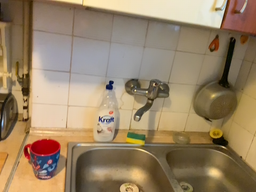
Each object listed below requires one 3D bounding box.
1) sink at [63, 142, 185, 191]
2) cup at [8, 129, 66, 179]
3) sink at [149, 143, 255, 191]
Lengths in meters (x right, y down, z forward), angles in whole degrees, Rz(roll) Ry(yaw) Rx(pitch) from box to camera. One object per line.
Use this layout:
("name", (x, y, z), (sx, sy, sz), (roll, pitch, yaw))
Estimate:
("sink", (-0.030, 0.360, 0.790), (0.410, 0.150, 0.440), (4, 20, -15))
("cup", (-0.310, 0.200, 0.750), (0.160, 0.090, 0.160), (5, 20, -14))
("sink", (0.350, 0.390, 0.890), (0.380, 0.160, 0.440), (4, 20, -15))
